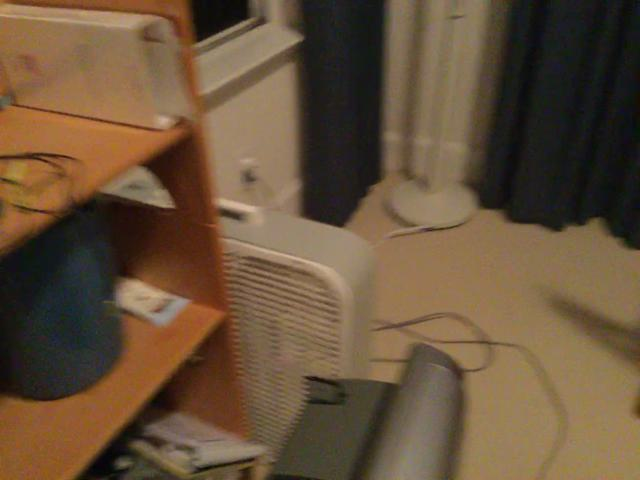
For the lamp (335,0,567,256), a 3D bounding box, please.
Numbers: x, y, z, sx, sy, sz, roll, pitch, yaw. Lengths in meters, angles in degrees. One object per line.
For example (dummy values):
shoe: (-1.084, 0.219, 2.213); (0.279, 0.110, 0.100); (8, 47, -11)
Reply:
lamp: (0.330, -0.840, 1.370); (0.510, 1.790, 0.380); (12, 39, 25)
